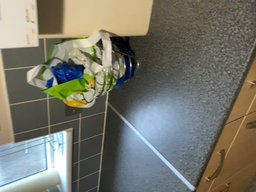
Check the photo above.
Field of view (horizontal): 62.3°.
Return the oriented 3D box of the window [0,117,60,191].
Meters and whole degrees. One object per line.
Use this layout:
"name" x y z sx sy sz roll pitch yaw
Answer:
"window" -0.840 0.450 1.010 0.090 1.000 0.510 40 132 42
